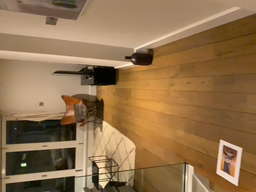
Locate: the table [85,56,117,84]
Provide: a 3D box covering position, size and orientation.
[{"bbox_3d":[-0.590,-0.520,4.470,0.730,0.470,0.520,-170,82,-67],"label":"table"}]

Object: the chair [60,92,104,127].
[{"bbox_3d":[-1.150,0.310,5.210,0.780,0.900,0.770,-178,90,-67],"label":"chair"}]
